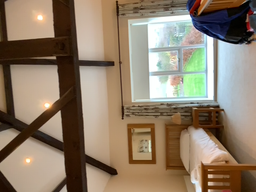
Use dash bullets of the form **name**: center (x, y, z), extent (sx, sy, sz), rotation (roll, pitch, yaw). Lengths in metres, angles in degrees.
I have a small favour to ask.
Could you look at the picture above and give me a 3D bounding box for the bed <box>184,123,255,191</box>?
- **bed**: center (1.420, 1.210, 3.560), extent (2.120, 0.600, 1.050), rotation (-43, -49, -82)
